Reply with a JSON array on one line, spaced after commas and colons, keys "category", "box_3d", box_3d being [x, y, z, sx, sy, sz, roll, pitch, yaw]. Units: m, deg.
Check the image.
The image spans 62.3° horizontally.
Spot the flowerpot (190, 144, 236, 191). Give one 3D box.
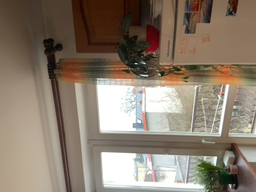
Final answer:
[{"category": "flowerpot", "box_3d": [0.850, 0.850, 2.190, 0.310, 0.310, 0.610, -76, -14, -77]}]
